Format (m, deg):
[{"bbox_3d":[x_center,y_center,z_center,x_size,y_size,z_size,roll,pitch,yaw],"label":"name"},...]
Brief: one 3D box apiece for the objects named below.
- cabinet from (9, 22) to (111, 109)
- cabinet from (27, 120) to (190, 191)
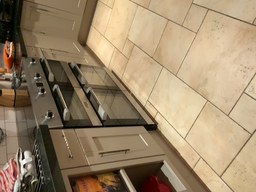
[{"bbox_3d":[-0.870,-0.350,2.590,0.820,0.920,0.640,51,128,44],"label":"cabinet"},{"bbox_3d":[-0.140,0.540,1.490,0.360,0.920,0.640,51,128,44],"label":"cabinet"}]
